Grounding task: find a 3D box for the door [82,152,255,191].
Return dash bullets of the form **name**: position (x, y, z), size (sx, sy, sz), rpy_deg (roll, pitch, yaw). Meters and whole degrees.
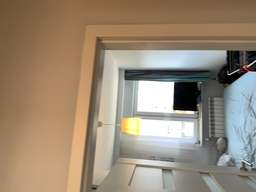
- **door**: position (0.910, 0.530, 1.250), size (0.820, 2.170, 0.090), rpy_deg (29, -117, -83)
